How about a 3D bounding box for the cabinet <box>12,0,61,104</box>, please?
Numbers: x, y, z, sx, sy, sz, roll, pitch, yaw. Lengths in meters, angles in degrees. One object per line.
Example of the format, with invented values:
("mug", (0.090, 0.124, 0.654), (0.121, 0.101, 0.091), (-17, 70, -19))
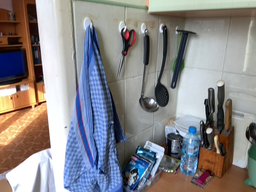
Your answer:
("cabinet", (-1.760, -0.860, 4.160), (0.420, 1.930, 0.560), (15, 22, 38))
